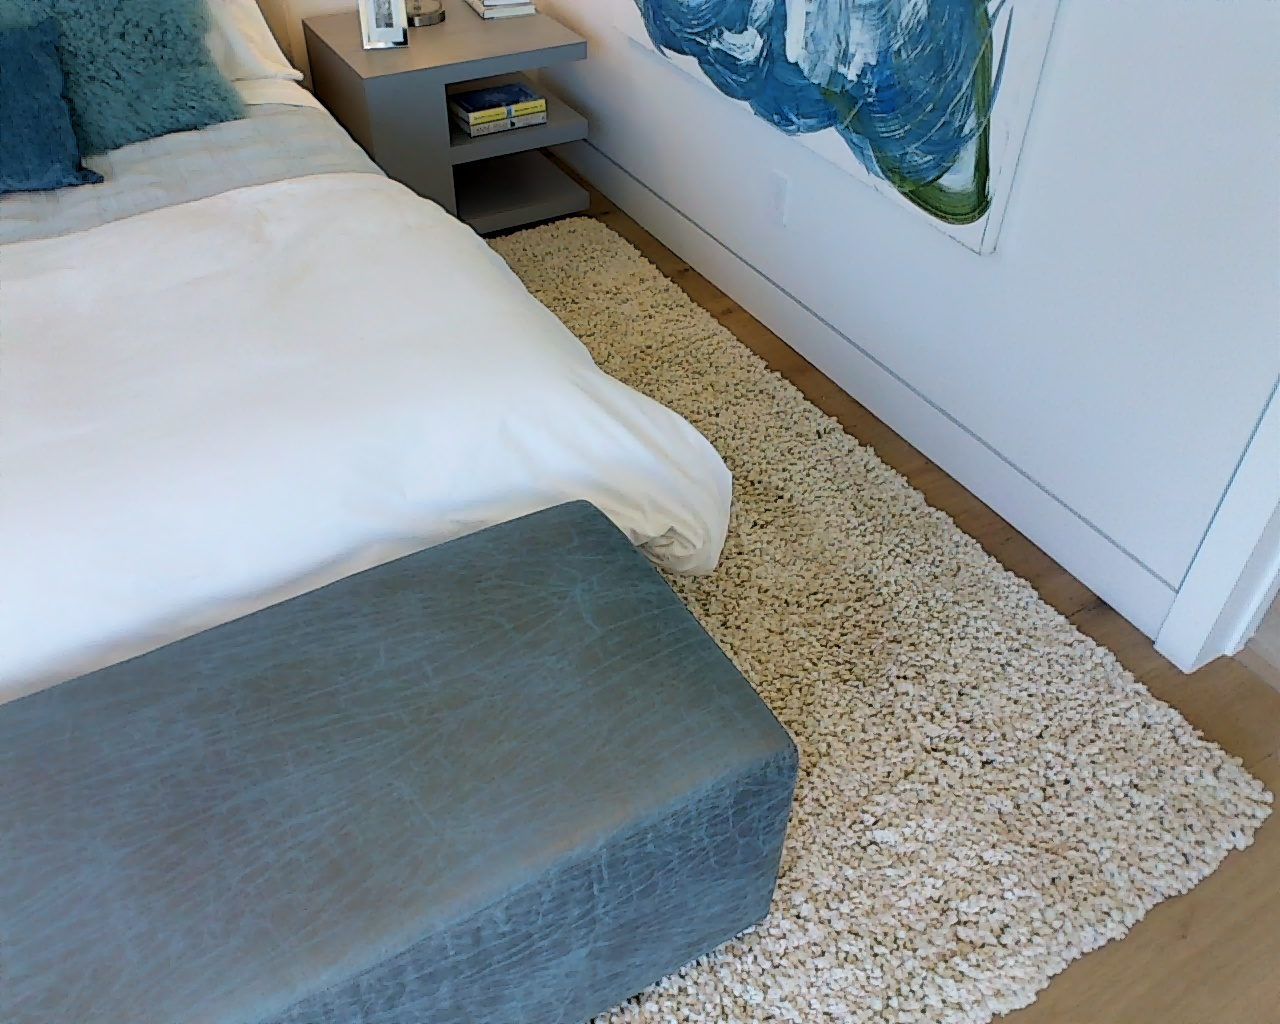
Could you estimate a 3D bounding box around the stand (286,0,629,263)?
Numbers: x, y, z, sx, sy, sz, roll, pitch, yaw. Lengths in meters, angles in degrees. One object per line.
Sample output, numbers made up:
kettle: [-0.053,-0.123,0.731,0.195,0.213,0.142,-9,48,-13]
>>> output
stand: [-0.550,-1.270,3.350,0.810,0.570,0.660,-20,45,-22]
